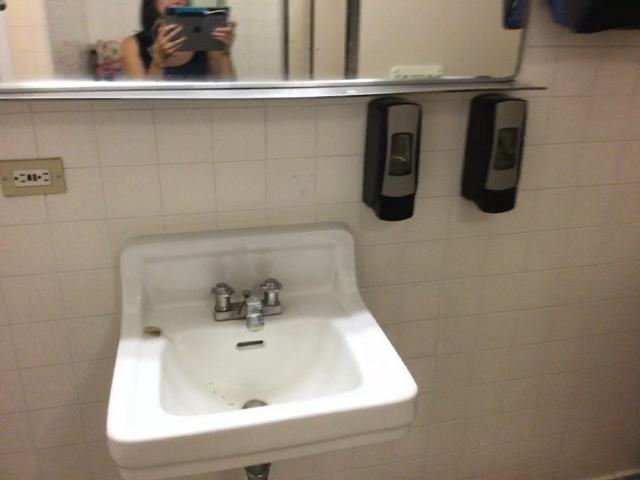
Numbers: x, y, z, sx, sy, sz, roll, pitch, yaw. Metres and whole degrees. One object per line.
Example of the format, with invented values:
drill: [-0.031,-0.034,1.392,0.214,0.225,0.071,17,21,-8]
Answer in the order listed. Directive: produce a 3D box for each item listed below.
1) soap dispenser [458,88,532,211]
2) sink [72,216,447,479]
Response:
soap dispenser: [0.380,-0.200,1.270,0.100,0.250,0.090,-5,21,-12]
sink: [-0.120,0.210,1.100,0.540,0.350,0.460,-5,21,-12]
